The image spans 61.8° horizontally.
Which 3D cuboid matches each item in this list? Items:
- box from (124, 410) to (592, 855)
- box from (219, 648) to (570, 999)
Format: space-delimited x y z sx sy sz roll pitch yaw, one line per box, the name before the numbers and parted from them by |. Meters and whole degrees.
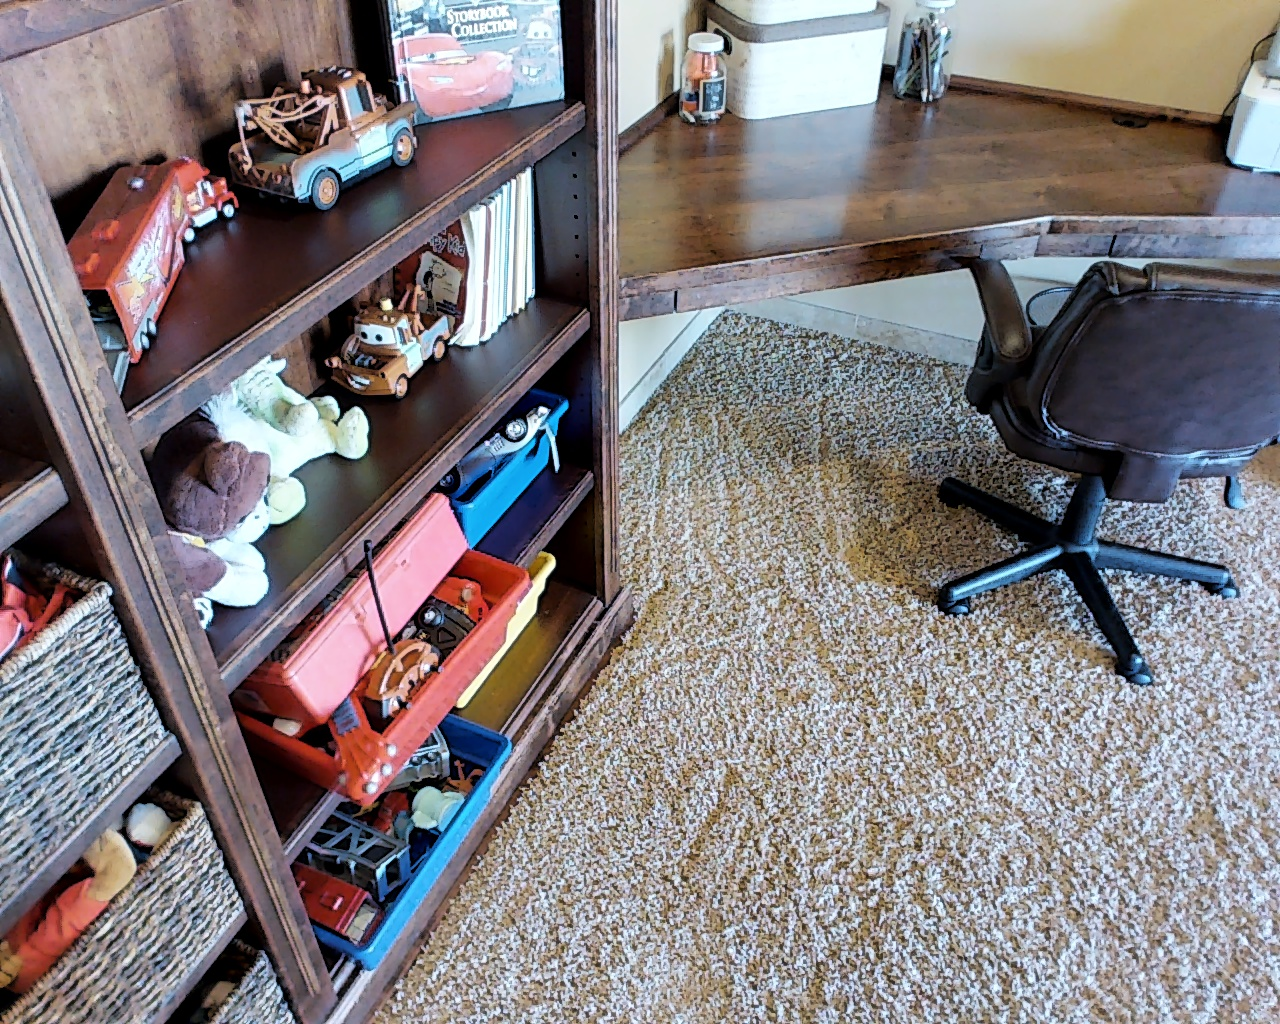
box | -0.330 0.130 1.390 0.370 0.250 0.430 19 44 19
box | -0.340 0.440 1.580 0.330 0.170 0.380 17 43 18
